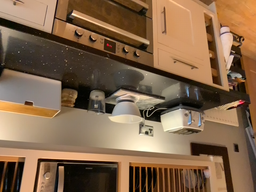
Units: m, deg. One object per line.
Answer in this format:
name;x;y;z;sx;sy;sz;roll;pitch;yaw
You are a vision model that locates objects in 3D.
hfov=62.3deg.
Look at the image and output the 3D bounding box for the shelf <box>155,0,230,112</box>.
shelf;0.530;-0.370;1.940;0.190;0.910;0.610;12;157;-29
